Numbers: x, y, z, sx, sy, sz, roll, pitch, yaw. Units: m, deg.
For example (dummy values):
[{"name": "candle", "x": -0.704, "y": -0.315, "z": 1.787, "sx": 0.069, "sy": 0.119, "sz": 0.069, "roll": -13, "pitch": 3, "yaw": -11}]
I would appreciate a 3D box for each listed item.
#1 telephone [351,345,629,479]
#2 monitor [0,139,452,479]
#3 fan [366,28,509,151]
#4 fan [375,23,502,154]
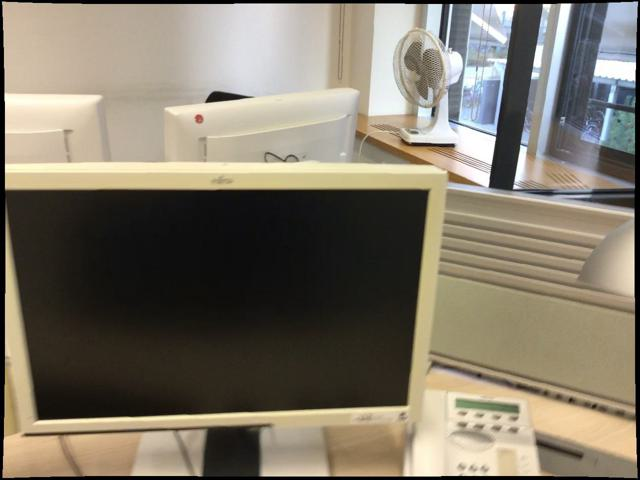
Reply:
[{"name": "telephone", "x": 0.240, "y": 0.320, "z": 0.900, "sx": 0.280, "sy": 0.120, "sz": 0.300, "roll": -8, "pitch": 25, "yaw": -21}, {"name": "monitor", "x": -0.160, "y": 0.120, "z": 0.870, "sx": 0.619, "sy": 0.500, "sz": 0.210, "roll": 0, "pitch": 23, "yaw": -3}, {"name": "fan", "x": 0.430, "y": -0.601, "z": 2.240, "sx": 0.330, "sy": 0.390, "sz": 0.430, "roll": -8, "pitch": 25, "yaw": -21}, {"name": "fan", "x": 0.420, "y": -0.581, "z": 2.160, "sx": 0.260, "sy": 0.410, "sz": 0.390, "roll": -8, "pitch": 25, "yaw": -21}]
